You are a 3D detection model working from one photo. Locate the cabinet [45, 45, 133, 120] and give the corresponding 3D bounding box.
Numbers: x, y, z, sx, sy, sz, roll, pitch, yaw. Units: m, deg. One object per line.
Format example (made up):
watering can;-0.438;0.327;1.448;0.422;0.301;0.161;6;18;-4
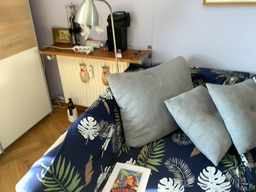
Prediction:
cabinet;-0.390;-0.150;2.230;0.880;0.670;0.160;9;31;17
